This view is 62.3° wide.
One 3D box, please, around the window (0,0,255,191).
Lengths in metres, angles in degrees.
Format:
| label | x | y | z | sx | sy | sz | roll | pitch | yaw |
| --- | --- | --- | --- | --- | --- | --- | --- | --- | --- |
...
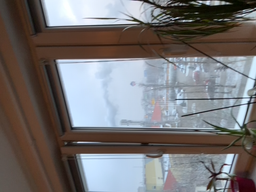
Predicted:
| label | x | y | z | sx | sy | sz | roll | pitch | yaw |
| --- | --- | --- | --- | --- | --- | --- | --- | --- | --- |
| window | 0.240 | 0.350 | 1.380 | 0.400 | 1.410 | 2.870 | -83 | -8 | -59 |
